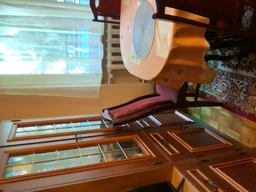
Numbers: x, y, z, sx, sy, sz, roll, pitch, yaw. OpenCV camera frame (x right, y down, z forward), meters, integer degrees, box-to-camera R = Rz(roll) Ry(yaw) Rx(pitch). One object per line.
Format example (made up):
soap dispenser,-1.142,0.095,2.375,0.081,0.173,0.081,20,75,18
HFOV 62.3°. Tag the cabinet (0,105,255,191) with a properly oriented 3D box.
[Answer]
cabinet,-0.280,0.480,1.530,0.910,2.290,0.480,-146,56,-65

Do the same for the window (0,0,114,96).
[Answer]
window,-1.010,-0.750,2.180,0.100,1.760,1.510,-142,53,-64
